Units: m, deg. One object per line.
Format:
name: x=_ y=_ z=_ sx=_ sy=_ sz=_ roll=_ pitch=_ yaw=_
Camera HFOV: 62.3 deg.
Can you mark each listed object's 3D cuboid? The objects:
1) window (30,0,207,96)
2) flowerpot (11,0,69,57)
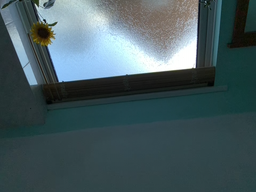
window: x=-0.040 y=-0.530 z=1.320 sx=0.990 sy=0.990 sz=0.200 roll=-7 pitch=-149 yaw=1
flowerpot: x=-0.540 y=-0.590 z=1.220 sx=0.190 sy=0.670 sz=0.220 roll=-8 pitch=-149 yaw=0
